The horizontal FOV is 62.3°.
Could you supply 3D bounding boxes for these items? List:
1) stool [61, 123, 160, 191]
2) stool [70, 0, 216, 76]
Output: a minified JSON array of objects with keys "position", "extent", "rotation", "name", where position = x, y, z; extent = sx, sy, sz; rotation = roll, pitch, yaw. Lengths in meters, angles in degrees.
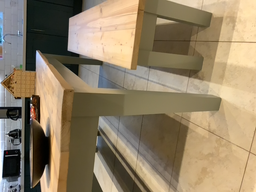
[{"position":[-0.260,0.740,2.050],"extent":[1.720,0.470,0.360],"rotation":[29,116,61],"name":"stool"},{"position":[-0.080,-0.450,1.700],"extent":[1.480,0.470,0.350],"rotation":[28,115,61],"name":"stool"}]
